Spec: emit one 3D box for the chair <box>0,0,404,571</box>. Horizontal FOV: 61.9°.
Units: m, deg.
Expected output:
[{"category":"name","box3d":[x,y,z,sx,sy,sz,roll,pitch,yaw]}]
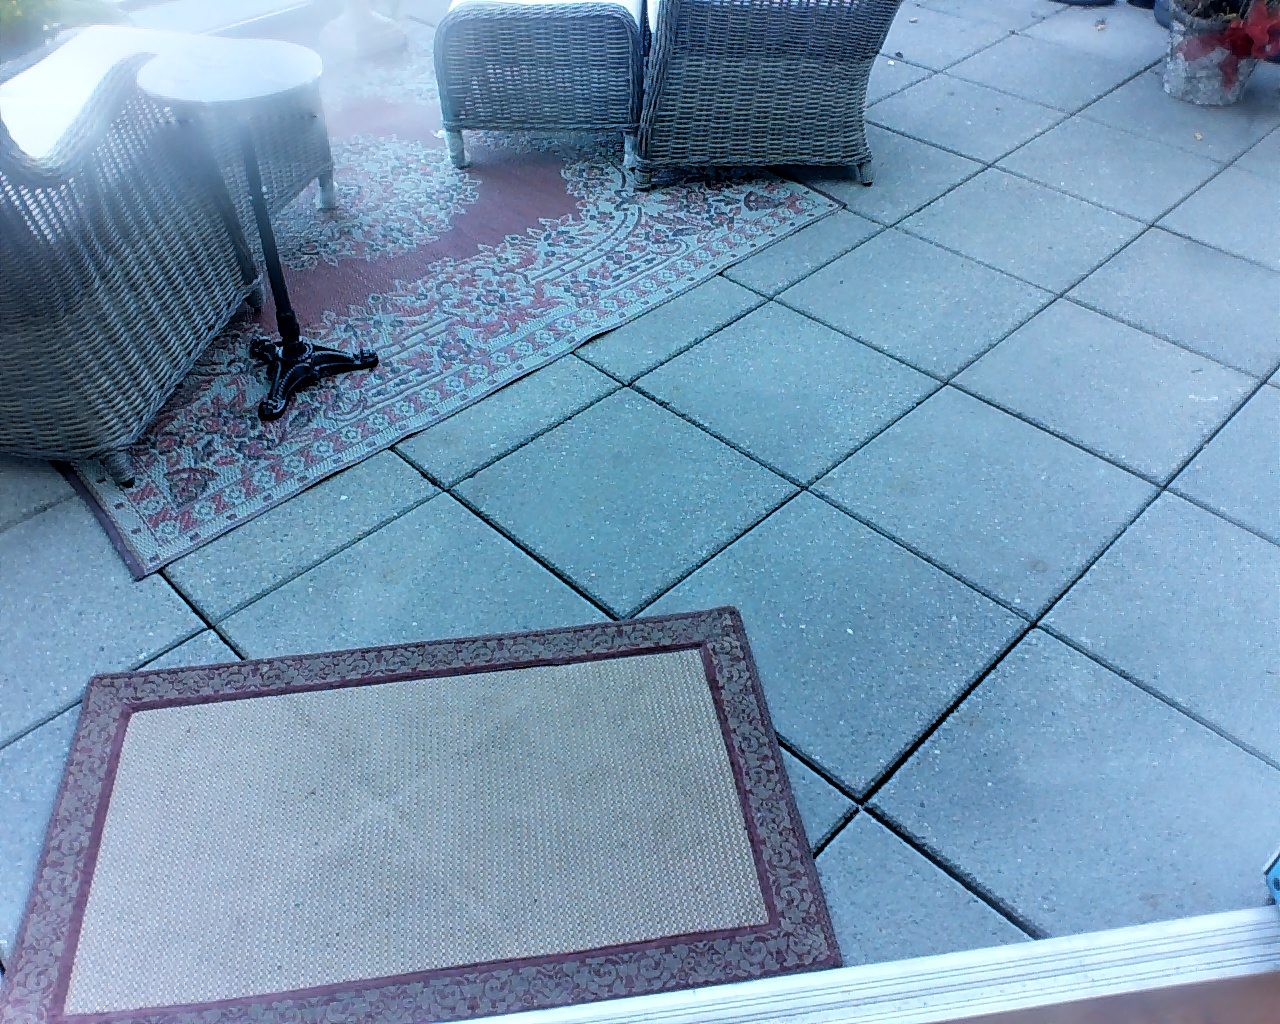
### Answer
[{"category":"chair","box3d":[-1.170,-0.830,2.000,0.810,1.050,1.460,8,44,9]}]
